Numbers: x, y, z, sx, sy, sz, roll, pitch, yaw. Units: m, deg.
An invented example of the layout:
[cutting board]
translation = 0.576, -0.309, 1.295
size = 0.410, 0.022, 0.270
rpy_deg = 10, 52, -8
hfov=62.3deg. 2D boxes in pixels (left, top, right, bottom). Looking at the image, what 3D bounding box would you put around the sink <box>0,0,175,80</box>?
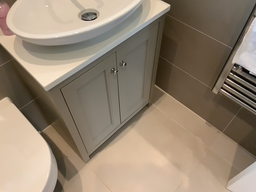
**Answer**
[sink]
translation = -0.150, -0.360, 0.810
size = 0.390, 0.100, 0.590
rpy_deg = 38, 63, 24
